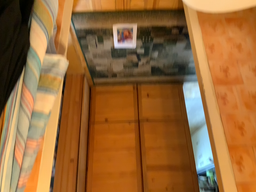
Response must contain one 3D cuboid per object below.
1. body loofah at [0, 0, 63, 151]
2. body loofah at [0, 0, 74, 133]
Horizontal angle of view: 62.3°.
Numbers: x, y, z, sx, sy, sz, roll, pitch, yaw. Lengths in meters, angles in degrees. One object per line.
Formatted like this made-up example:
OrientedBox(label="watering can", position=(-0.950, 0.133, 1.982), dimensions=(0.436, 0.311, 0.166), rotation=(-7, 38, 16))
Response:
OrientedBox(label="body loofah", position=(-0.340, -0.260, 0.700), dimensions=(0.130, 0.820, 0.260), rotation=(-1, 154, -1))
OrientedBox(label="body loofah", position=(-0.350, -0.220, 0.920), dimensions=(0.110, 0.700, 0.280), rotation=(-1, 154, -2))
